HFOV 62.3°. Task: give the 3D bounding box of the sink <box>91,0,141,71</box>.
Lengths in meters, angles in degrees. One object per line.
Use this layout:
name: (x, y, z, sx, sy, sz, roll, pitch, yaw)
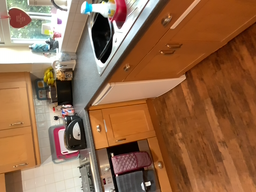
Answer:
sink: (-0.110, -0.440, 1.540, 0.380, 0.160, 0.370, -40, 60, 58)
